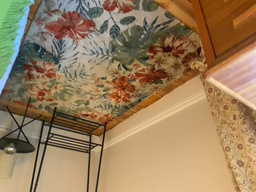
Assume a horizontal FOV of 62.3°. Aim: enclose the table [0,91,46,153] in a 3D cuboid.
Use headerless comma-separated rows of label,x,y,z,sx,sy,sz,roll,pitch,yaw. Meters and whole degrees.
table,-1.150,0.280,2.180,0.380,0.440,0.390,23,141,-31
